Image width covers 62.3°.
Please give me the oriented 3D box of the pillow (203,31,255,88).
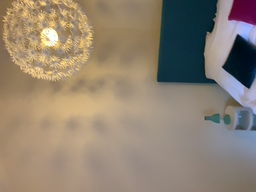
[{"bbox_3d":[1.130,-0.360,2.260,0.490,0.420,0.170,-42,52,21],"label":"pillow"}]
